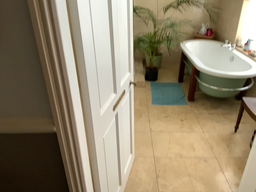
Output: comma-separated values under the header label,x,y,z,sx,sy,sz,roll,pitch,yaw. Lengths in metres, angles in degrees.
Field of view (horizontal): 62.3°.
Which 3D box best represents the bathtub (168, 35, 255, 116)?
label,x,y,z,sx,sy,sz,roll,pitch,yaw
bathtub,1.230,-0.430,3.270,0.810,0.610,1.710,-2,28,-2
